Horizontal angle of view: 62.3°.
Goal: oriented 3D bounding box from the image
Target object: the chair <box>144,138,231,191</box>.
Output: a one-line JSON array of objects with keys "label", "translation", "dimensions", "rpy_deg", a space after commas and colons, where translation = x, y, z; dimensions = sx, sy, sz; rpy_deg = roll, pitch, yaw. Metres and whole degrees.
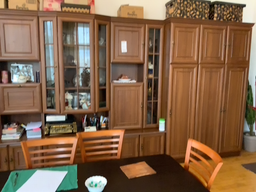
[{"label": "chair", "translation": [0.390, 0.810, 1.560], "dimensions": [0.430, 0.860, 0.410], "rpy_deg": [-2, 9, -17]}]

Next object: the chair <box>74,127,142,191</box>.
[{"label": "chair", "translation": [-0.200, 0.770, 1.790], "dimensions": [0.460, 0.860, 0.520], "rpy_deg": [-2, 9, -17]}]
